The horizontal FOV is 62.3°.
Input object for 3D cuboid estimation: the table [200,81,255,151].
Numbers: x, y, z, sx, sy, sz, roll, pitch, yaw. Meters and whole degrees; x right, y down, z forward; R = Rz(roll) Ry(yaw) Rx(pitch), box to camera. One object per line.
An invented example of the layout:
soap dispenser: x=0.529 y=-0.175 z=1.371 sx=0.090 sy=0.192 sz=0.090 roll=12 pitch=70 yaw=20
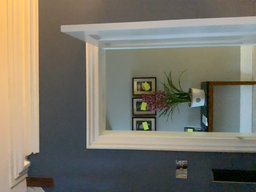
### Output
table: x=1.500 y=0.270 z=3.120 sx=0.420 sy=0.750 sz=0.960 roll=-7 pitch=-82 yaw=-85
